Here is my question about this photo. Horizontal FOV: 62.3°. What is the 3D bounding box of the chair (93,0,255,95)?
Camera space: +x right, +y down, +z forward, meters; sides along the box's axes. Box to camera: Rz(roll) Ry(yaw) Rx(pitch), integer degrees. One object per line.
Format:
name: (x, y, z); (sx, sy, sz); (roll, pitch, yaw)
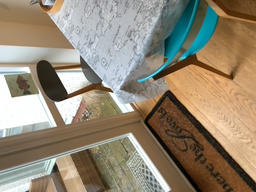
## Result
chair: (0.340, -0.370, 1.130); (0.480, 0.810, 0.450); (52, 130, 29)

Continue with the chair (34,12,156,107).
chair: (-0.290, -0.290, 1.860); (0.570, 0.780, 0.450); (-45, 63, 41)
